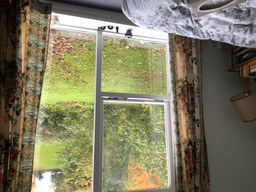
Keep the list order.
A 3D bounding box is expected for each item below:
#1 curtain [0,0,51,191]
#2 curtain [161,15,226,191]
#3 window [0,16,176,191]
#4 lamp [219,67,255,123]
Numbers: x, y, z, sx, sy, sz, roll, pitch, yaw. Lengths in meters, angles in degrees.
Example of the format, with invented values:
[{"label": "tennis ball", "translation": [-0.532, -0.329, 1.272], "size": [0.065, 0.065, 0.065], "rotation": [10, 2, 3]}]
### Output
[{"label": "curtain", "translation": [-1.040, 0.040, 1.920], "size": [0.490, 2.230, 0.170], "rotation": [2, 168, -12]}, {"label": "curtain", "translation": [0.730, 0.180, 2.440], "size": [0.560, 2.260, 0.190], "rotation": [2, 168, -13]}, {"label": "window", "translation": [-0.410, 0.150, 2.500], "size": [1.930, 2.030, 0.180], "rotation": [2, 168, -14]}, {"label": "lamp", "translation": [1.360, 0.010, 2.460], "size": [0.370, 0.570, 0.340], "rotation": [3, 168, -16]}]
